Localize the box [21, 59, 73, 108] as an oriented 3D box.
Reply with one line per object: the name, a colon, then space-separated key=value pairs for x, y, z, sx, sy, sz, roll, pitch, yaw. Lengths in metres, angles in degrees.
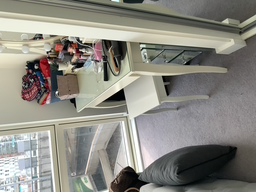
box: x=-0.730 y=-0.110 z=1.900 sx=0.230 sy=0.380 sz=0.370 roll=-28 pitch=68 yaw=58
